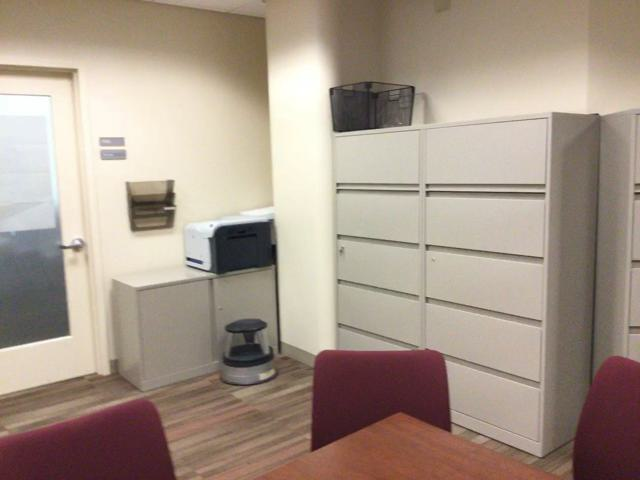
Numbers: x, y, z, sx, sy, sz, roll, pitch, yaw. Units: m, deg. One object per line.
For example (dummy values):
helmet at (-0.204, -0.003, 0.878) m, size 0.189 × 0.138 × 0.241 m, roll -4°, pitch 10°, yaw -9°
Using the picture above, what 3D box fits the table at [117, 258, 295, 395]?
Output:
table at (-0.820, 0.560, 4.170) m, size 1.020 × 0.720 × 0.720 m, roll -5°, pitch 5°, yaw -34°

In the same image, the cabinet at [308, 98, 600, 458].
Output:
cabinet at (0.630, 0.130, 3.320) m, size 0.440 × 1.550 × 1.770 m, roll -5°, pitch 5°, yaw -34°
